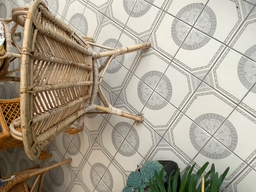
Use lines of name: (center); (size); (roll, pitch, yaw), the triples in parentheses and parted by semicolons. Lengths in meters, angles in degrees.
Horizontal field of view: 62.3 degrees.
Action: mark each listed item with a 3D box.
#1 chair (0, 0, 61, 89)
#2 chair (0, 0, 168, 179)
chair: (-1.100, -0.440, 1.640); (0.570, 0.810, 0.670); (-18, 84, 36)
chair: (-0.300, -0.110, 1.090); (0.660, 0.800, 0.550); (10, 101, 35)
